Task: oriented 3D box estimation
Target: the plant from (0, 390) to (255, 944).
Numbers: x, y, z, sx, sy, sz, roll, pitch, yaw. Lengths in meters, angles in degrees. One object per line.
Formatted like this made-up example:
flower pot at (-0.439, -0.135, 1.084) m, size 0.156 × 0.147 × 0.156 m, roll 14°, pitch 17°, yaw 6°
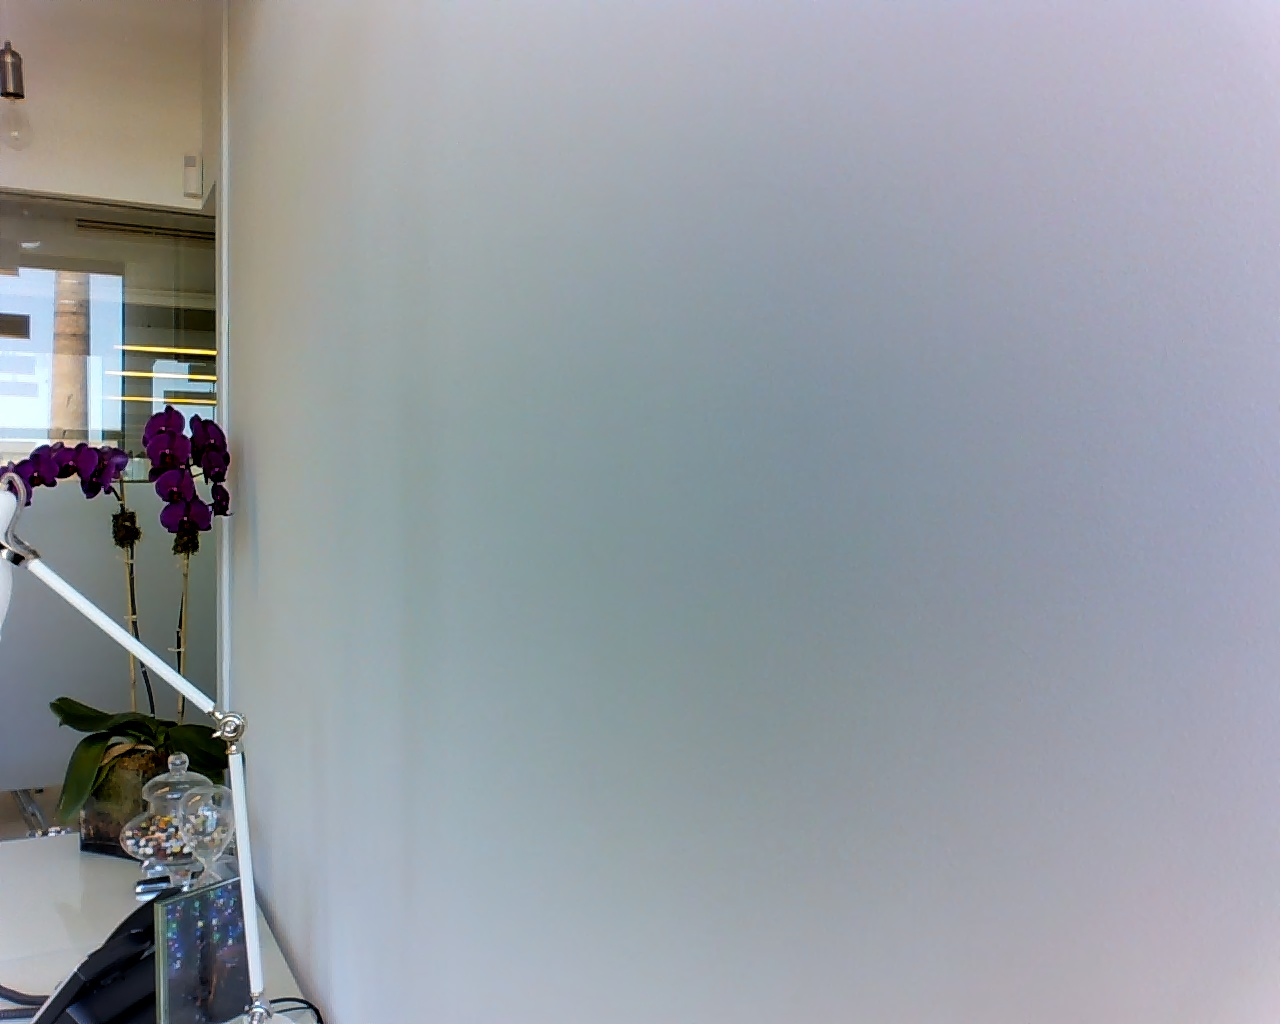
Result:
plant at (-1.110, 0.260, 2.160) m, size 0.530 × 0.930 × 0.670 m, roll 0°, pitch 0°, yaw -29°
